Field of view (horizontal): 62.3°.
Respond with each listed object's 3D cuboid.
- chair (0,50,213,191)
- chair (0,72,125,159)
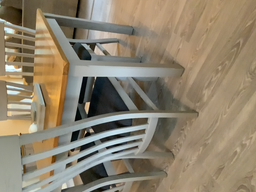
[{"bbox_3d":[-0.200,0.130,1.250,0.700,1.050,0.460,53,135,43],"label":"chair"},{"bbox_3d":[-0.660,0.120,2.000,0.590,1.040,0.460,50,133,45],"label":"chair"}]
